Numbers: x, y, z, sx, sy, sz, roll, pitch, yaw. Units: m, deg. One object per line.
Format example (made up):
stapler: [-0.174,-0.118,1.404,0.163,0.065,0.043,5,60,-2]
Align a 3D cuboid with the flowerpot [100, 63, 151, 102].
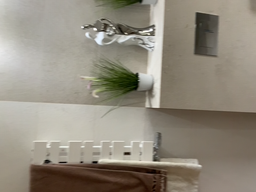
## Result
flowerpot: [-0.020,-0.080,1.330,0.120,0.290,0.210,-177,91,-76]

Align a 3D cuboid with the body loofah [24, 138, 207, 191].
body loofah: [-0.040,0.510,1.230,0.150,1.010,0.490,180,94,-76]
